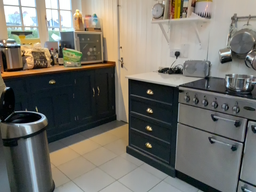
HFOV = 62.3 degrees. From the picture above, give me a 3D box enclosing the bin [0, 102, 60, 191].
[{"bbox_3d":[-0.890,0.470,1.830,0.350,0.690,0.470,-13,20,-42],"label":"bin"}]
